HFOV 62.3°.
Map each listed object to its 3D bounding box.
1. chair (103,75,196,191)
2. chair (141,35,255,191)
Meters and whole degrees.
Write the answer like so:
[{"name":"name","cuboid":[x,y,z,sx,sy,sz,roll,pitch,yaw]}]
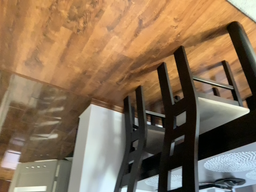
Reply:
[{"name":"chair","cuboid":[0.170,0.440,1.800,0.580,1.040,0.400,22,140,-28]},{"name":"chair","cuboid":[0.460,0.190,1.420,0.590,1.030,0.420,17,143,-22]}]
